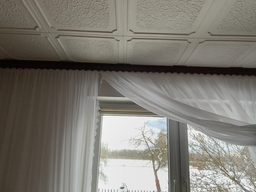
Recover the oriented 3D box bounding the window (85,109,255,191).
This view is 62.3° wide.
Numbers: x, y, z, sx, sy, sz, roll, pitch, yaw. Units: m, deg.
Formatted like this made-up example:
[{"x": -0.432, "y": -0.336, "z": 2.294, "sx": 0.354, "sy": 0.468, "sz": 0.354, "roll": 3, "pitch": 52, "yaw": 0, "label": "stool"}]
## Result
[{"x": 0.480, "y": 0.870, "z": 2.150, "sx": 1.750, "sy": 1.370, "sz": 0.380, "roll": 2, "pitch": -16, "yaw": -2, "label": "window"}]
